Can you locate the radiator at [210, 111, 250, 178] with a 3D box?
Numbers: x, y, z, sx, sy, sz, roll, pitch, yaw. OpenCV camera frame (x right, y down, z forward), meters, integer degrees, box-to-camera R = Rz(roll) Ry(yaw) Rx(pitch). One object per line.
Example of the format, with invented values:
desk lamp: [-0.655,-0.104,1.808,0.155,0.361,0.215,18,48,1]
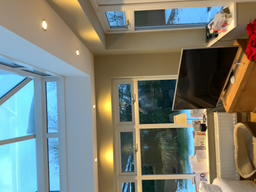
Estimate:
radiator: [1.480,0.700,3.090,0.160,0.460,0.930,34,-126,-88]
